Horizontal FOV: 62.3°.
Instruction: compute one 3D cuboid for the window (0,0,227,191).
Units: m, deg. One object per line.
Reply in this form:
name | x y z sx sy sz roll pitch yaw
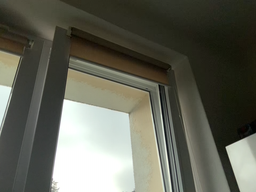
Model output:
window | -0.340 0.290 0.640 1.670 1.970 0.210 14 -37 -26
